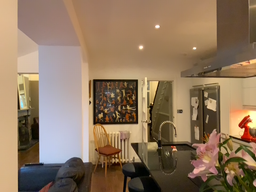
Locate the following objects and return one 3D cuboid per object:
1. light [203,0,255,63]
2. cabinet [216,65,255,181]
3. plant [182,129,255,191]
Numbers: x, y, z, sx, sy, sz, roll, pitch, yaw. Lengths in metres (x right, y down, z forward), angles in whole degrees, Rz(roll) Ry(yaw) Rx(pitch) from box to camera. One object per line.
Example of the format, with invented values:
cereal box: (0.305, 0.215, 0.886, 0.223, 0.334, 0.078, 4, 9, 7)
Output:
light: (0.780, -0.610, 1.540, 0.310, 0.680, 0.360, 2, 0, -5)
cabinet: (2.050, 0.490, 4.050, 0.590, 2.110, 0.290, -1, 0, -7)
plant: (0.470, 0.420, 0.890, 0.360, 0.500, 0.340, -1, 0, -9)
